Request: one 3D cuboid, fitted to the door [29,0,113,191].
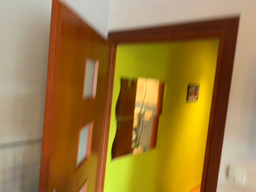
[{"bbox_3d":[-0.350,0.610,1.400,0.130,2.130,0.860,6,5,7],"label":"door"}]
